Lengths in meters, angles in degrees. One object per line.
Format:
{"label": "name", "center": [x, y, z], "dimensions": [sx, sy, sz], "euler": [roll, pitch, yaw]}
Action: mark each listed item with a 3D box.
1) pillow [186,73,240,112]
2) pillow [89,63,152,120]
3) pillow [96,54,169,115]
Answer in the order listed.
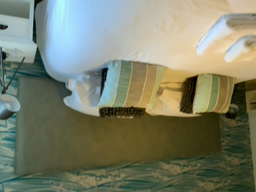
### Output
{"label": "pillow", "center": [0.790, -0.030, 1.970], "dimensions": [0.460, 0.330, 0.180], "euler": [2, -174, -28]}
{"label": "pillow", "center": [-0.060, -0.030, 1.690], "dimensions": [0.420, 0.400, 0.150], "euler": [2, -164, -28]}
{"label": "pillow", "center": [0.030, -0.070, 1.540], "dimensions": [0.440, 0.380, 0.150], "euler": [2, -157, -29]}
